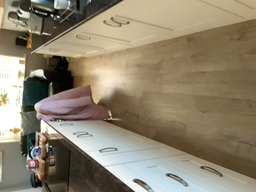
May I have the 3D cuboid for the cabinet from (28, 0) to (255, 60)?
[{"bbox_3d":[-0.280,-0.840,2.220,3.570,0.880,0.590,8,95,57],"label":"cabinet"}]

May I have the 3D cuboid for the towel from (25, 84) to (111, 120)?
[{"bbox_3d":[-0.880,0.070,3.070,0.760,1.000,0.380,11,98,56],"label":"towel"}]
